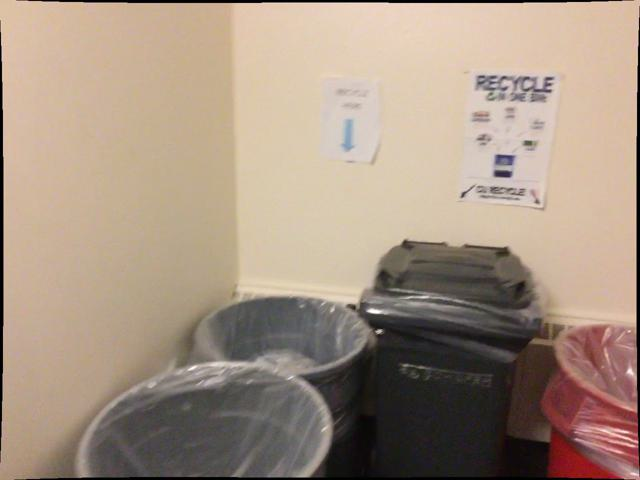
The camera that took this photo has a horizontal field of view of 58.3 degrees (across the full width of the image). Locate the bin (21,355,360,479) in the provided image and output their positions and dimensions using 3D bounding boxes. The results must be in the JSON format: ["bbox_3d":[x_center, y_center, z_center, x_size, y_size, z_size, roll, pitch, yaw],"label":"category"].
[{"bbox_3d":[-0.250,0.751,1.400,0.600,0.671,0.590,4,17,12],"label":"bin"}]

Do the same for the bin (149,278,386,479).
[{"bbox_3d":[-0.120,0.570,1.910,0.590,0.681,0.600,4,17,12],"label":"bin"}]

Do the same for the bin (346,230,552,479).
[{"bbox_3d":[0.380,0.480,1.830,0.510,0.901,0.490,4,17,12],"label":"bin"}]

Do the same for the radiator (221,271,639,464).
[{"bbox_3d":[0.560,0.450,2.050,1.849,0.520,0.160,4,17,12],"label":"radiator"}]

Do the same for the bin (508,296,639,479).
[{"bbox_3d":[0.929,0.631,1.710,0.600,0.711,0.580,4,17,12],"label":"bin"}]

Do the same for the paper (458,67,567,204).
[{"bbox_3d":[0.619,-0.340,1.880,0.300,0.430,0.050,4,17,12],"label":"paper"}]
